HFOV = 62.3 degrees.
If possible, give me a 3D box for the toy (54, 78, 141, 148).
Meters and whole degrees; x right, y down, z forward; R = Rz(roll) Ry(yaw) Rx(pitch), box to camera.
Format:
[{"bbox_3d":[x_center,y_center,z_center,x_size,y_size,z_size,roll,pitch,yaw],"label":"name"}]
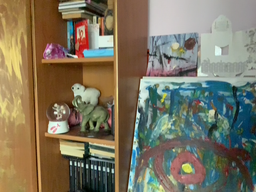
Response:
[{"bbox_3d":[-0.130,0.050,1.000,0.300,0.270,0.280,3,6,23],"label":"toy"}]
